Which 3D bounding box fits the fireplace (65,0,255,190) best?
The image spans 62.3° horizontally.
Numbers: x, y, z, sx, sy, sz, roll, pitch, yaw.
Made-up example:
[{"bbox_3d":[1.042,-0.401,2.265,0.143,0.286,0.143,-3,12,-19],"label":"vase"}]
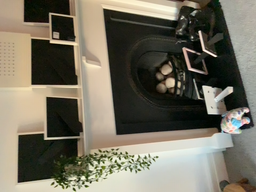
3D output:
[{"bbox_3d":[0.190,-0.210,1.760,0.660,1.240,1.570,146,121,-61],"label":"fireplace"}]
